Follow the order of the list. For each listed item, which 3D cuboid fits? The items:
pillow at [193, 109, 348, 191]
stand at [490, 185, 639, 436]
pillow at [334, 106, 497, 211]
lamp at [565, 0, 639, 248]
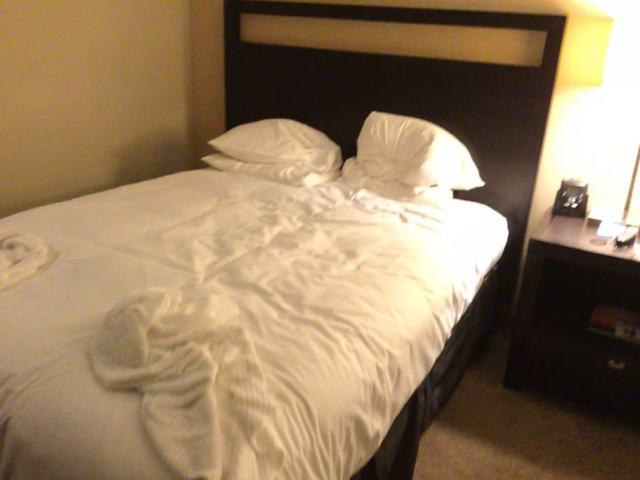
[{"bbox_3d":[-0.240,-0.450,2.770,0.610,0.240,0.400,15,23,26],"label":"pillow"},{"bbox_3d":[1.160,0.260,2.200,0.770,0.710,0.510,15,23,26],"label":"stand"},{"bbox_3d":[0.400,-0.370,2.520,0.630,0.320,0.220,15,23,26],"label":"pillow"},{"bbox_3d":[1.240,-0.420,2.130,0.430,0.840,0.350,14,22,27],"label":"lamp"}]
